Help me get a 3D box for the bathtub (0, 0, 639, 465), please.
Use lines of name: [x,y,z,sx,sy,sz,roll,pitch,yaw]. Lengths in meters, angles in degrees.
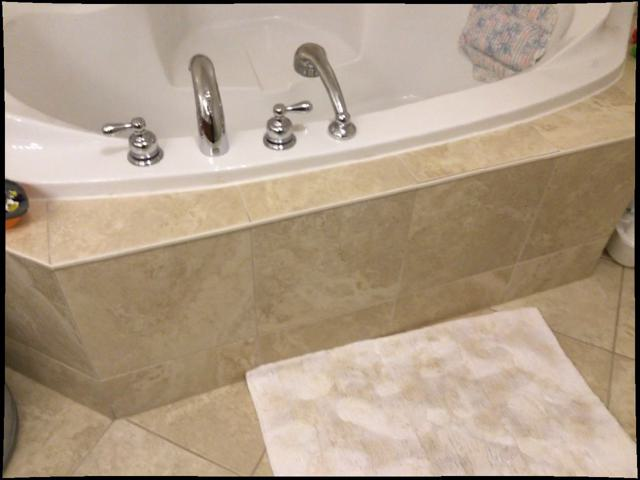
bathtub: [-0.040,-0.450,1.660,1.938,0.690,1.360,-14,49,-17]
